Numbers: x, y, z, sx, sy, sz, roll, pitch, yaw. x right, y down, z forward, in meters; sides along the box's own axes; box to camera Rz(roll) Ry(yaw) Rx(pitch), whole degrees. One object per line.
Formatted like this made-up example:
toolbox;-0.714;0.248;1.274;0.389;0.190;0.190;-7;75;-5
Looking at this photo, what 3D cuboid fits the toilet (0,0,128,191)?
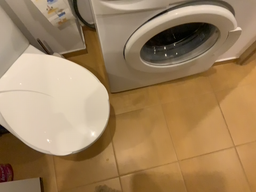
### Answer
toilet;-0.420;-0.010;0.860;0.720;0.720;0.390;29;75;7
